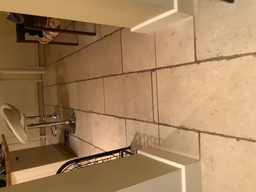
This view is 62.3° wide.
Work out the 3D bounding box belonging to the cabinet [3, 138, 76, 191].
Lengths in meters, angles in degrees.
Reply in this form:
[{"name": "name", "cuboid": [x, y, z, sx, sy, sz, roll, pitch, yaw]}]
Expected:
[{"name": "cabinet", "cuboid": [-1.450, 1.080, 3.370, 1.130, 0.850, 0.480, 1, 94, 56]}]
